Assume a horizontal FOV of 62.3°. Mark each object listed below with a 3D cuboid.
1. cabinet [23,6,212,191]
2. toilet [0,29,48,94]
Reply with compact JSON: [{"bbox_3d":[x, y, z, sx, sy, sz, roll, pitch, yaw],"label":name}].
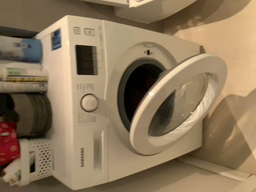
[{"bbox_3d":[-0.030,0.000,1.160,0.570,0.850,0.610,5,96,48],"label":"cabinet"},{"bbox_3d":[-0.500,-0.130,0.850,0.260,0.260,0.220,7,97,48],"label":"toilet"}]
